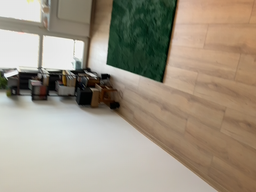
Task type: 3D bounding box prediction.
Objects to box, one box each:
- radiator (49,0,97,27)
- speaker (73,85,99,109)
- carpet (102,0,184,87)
[{"bbox_3d":[-0.960,-1.910,3.830,0.140,0.820,1.140,26,112,56],"label":"radiator"},{"bbox_3d":[-0.660,0.010,3.310,0.270,0.290,0.290,30,115,55],"label":"speaker"},{"bbox_3d":[0.080,-0.920,2.880,1.650,0.070,1.250,28,113,55],"label":"carpet"}]
